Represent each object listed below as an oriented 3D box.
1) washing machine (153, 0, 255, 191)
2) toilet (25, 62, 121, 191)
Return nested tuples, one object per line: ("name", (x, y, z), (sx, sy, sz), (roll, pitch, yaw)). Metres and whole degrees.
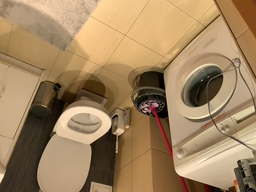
("washing machine", (0.610, 0.030, 1.280), (0.640, 0.820, 0.600), (24, 134, -23))
("toilet", (-0.370, 0.270, 1.580), (0.390, 0.840, 0.520), (23, 134, -23))
